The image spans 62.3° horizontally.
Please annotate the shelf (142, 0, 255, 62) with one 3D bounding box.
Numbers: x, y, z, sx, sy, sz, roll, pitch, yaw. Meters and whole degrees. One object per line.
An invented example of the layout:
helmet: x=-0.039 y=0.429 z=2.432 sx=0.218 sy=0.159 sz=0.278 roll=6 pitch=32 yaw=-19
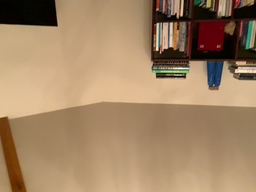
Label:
shelf: x=0.780 y=-1.260 z=1.930 sx=1.260 sy=1.850 sz=0.370 roll=2 pitch=-165 yaw=9
